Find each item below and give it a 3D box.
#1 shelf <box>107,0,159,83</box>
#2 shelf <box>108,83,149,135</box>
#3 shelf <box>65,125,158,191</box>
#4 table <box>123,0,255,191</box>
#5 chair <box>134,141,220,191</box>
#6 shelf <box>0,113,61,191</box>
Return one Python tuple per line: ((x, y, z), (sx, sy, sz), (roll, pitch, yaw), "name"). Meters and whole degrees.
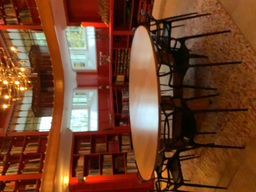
((0.090, -2.190, 5.130), (4.940, 1.080, 0.620), (99, 167, -51), "shelf")
((-0.050, 0.360, 6.580), (0.540, 1.070, 1.550), (99, 167, -50), "shelf")
((-0.450, 1.570, 5.600), (0.450, 2.170, 1.480), (99, 167, -50), "shelf")
((0.510, 0.050, 3.320), (2.230, 0.830, 2.190), (99, 167, -53), "table")
((0.580, 0.920, 2.730), (0.520, 0.890, 0.440), (99, 167, -50), "chair")
((-2.760, 2.140, 4.790), (0.440, 2.010, 3.750), (100, 166, -54), "shelf")
